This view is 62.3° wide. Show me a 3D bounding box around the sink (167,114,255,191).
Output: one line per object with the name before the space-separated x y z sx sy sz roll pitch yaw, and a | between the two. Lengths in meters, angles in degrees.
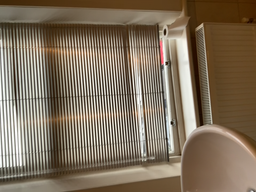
sink | 0.370 0.320 0.810 0.600 0.180 0.480 163 105 -76
